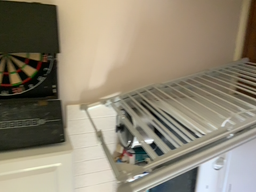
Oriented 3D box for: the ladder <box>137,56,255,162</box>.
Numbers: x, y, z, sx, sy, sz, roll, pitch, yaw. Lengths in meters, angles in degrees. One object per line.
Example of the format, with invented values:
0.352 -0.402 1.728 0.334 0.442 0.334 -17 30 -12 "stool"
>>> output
0.670 -0.020 1.340 0.760 0.980 0.350 -145 55 -63 "ladder"
